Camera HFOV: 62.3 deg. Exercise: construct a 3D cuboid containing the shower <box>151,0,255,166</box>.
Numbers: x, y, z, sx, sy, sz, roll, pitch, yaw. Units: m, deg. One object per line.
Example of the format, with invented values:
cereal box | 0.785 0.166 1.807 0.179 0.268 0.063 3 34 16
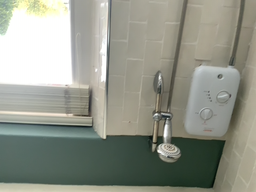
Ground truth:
shower | 0.360 -0.110 0.930 0.420 0.920 0.070 3 -161 -2
